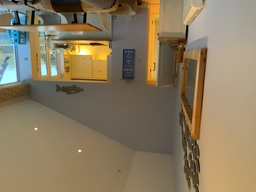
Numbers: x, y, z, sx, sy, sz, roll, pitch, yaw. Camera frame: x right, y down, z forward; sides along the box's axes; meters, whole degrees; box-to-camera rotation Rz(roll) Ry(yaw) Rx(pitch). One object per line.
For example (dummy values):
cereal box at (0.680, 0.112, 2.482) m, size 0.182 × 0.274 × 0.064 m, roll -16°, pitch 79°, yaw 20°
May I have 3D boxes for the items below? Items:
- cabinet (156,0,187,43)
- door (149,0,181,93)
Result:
cabinet at (0.750, -1.470, 3.710) m, size 0.450 × 1.010 × 0.870 m, roll 3°, pitch -168°, yaw 9°
door at (0.890, -1.210, 5.070) m, size 0.880 × 2.200 × 0.160 m, roll -10°, pitch -164°, yaw -42°
